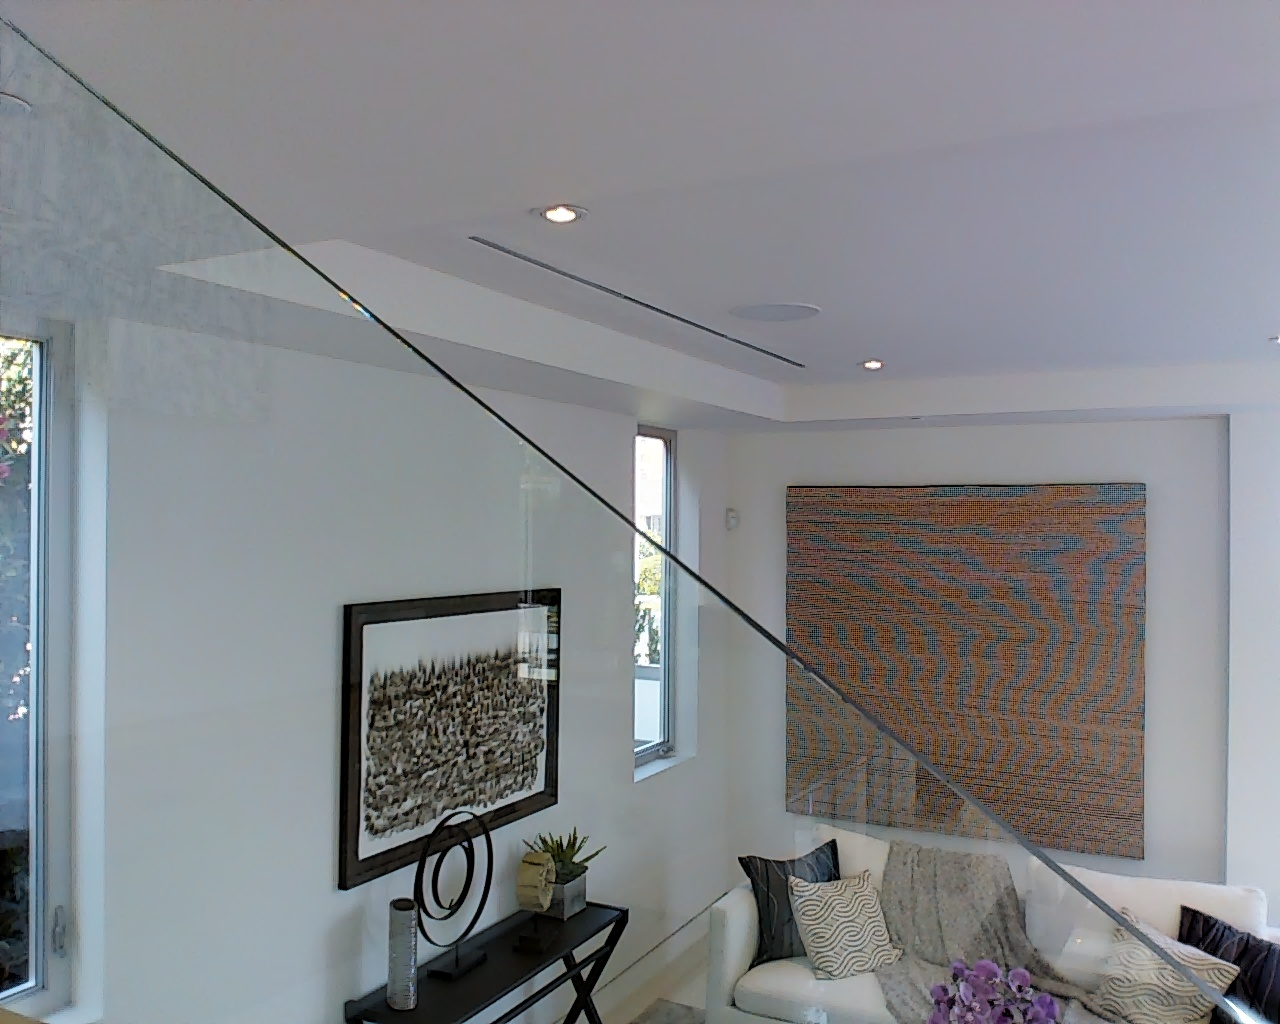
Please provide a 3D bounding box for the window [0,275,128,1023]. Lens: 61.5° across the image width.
[{"bbox_3d":[-1.559,0.410,2.540,0.160,1.921,0.650,1,0,28],"label":"window"}]
